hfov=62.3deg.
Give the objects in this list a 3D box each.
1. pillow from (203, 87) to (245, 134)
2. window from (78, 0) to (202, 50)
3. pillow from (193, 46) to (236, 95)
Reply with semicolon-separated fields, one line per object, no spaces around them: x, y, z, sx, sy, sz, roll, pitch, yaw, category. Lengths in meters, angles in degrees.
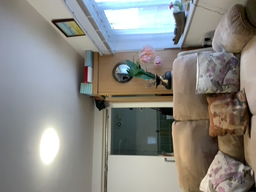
0.860;0.130;1.910;0.180;0.310;0.390;9;-99;-52;pillow
0.160;-0.860;2.270;1.320;1.040;0.240;49;-139;-79;window
0.810;-0.220;2.000;0.180;0.340;0.400;9;-99;-53;pillow
